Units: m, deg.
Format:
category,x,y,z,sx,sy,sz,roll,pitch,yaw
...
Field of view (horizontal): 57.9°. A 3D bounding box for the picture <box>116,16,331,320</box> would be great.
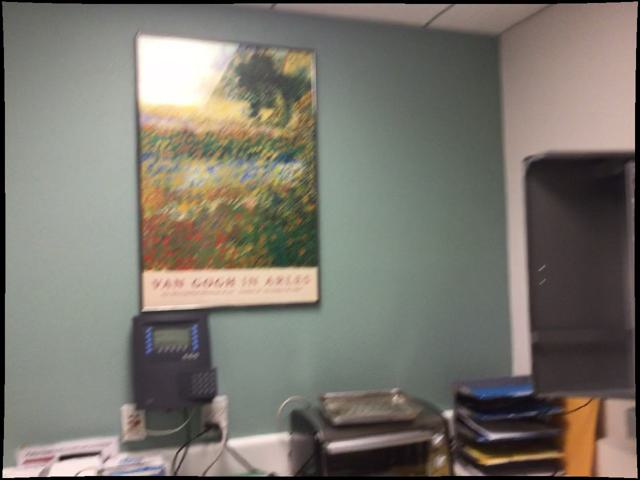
category,x,y,z,sx,sy,sz,roll,pitch,yaw
picture,-0.310,-0.240,1.960,0.679,0.961,0.060,-2,1,-17
